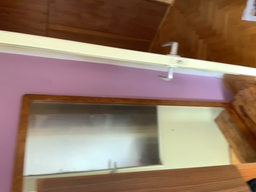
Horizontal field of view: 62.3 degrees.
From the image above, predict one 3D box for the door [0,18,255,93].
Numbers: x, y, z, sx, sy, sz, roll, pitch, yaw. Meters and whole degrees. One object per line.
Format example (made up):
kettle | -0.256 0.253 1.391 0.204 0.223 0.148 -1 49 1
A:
door | 0.170 -0.190 1.190 0.830 2.060 0.130 -146 63 -65
